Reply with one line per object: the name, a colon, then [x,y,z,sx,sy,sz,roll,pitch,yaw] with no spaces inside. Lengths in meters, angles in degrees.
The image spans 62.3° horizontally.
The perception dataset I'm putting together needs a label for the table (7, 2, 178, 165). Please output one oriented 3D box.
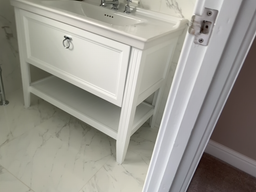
table: [-0.270,-0.160,1.520,0.950,0.760,0.510,24,34,23]
